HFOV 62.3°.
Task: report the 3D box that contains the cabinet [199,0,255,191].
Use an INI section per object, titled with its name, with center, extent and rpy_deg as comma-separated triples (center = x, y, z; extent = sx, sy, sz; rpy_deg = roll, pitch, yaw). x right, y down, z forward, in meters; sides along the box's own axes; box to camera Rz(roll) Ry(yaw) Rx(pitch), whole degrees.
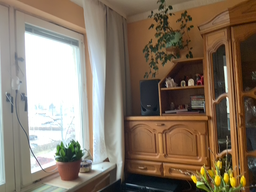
[cabinet]
center = 1.130, 0.120, 1.760
extent = 0.870, 1.700, 0.450
rpy_deg = -3, -1, 28
